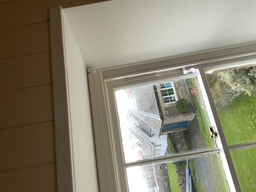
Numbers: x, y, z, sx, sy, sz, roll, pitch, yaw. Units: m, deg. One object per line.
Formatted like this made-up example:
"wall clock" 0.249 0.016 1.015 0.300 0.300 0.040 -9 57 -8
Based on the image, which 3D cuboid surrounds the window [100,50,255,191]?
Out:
"window" 0.460 0.230 1.020 0.080 1.090 0.890 79 -178 -70
